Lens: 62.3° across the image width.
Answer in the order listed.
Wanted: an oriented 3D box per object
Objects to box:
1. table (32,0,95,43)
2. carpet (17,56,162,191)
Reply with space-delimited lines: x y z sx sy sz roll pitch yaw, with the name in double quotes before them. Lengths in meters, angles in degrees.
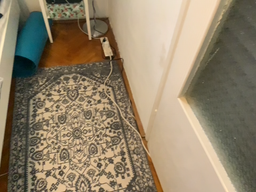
"table" -0.550 -0.870 1.810 0.460 0.700 0.380 -6 53 -10
"carpet" -0.300 0.230 1.430 0.780 0.030 1.340 -8 53 -11
